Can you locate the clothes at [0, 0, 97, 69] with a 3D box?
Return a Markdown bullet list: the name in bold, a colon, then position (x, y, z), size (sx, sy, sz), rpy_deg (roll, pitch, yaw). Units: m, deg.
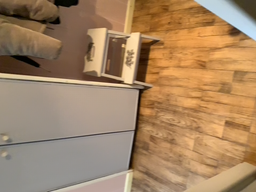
- **clothes**: position (-0.760, -0.430, 1.080), size (0.460, 1.070, 0.410), rpy_deg (17, 101, 45)
